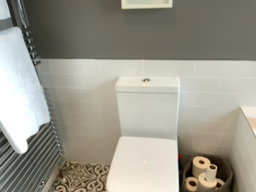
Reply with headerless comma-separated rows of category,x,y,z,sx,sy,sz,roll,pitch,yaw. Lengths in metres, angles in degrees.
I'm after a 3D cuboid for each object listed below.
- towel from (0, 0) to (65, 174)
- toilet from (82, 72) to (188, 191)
towel,-0.570,-0.170,1.000,0.170,0.950,0.490,2,29,9
toilet,0.090,0.350,1.220,0.390,0.790,0.600,2,29,10
